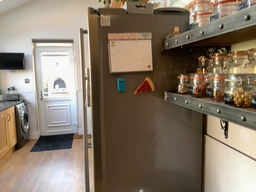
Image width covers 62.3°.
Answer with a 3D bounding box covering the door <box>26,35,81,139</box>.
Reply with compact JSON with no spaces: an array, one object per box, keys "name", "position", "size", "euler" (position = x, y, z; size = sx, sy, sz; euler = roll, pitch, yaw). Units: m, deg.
[{"name":"door","position":[-1.690,-0.200,4.920],"size":[1.050,2.310,0.190],"euler":[-3,7,-14]}]
